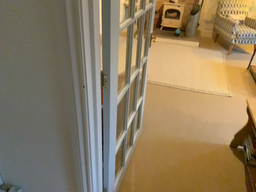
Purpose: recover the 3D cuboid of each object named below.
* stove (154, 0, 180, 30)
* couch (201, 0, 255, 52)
[{"bbox_3d":[0.840,-1.780,4.580,0.440,0.560,0.390,10,34,9],"label":"stove"},{"bbox_3d":[2.040,-1.420,4.130,0.730,0.820,0.860,-1,34,-8],"label":"couch"}]
